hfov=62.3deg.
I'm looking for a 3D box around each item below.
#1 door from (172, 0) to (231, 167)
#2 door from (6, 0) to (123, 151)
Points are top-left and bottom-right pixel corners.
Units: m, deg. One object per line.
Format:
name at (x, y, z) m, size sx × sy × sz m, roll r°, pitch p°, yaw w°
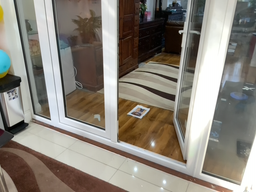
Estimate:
door at (0.580, -0.530, 1.760) m, size 0.100 × 2.050 × 0.910 m, roll 3°, pitch 24°, yaw 3°
door at (-0.620, -0.590, 1.980) m, size 1.220 × 2.220 × 0.100 m, roll 12°, pitch 26°, yaw 23°
